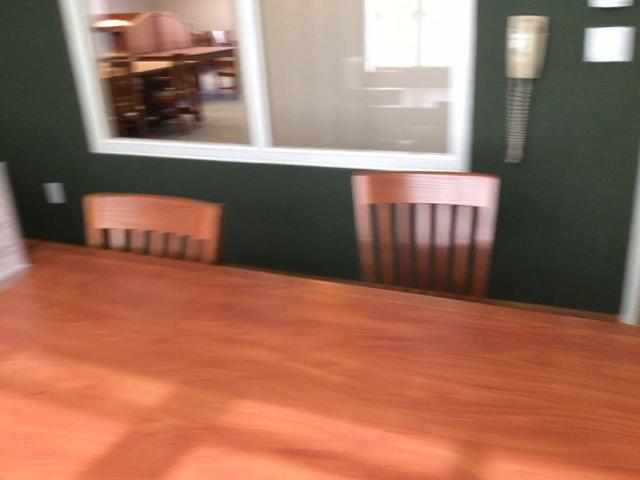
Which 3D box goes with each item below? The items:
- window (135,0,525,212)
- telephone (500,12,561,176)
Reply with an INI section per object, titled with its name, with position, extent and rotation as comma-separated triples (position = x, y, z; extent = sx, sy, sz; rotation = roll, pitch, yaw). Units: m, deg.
[window]
position = -0.010, -0.800, 2.410
extent = 1.600, 1.210, 0.230
rotation = 7, 23, 20
[telephone]
position = 0.770, -0.530, 2.130
extent = 0.150, 0.570, 0.090
rotation = 7, 23, 20
